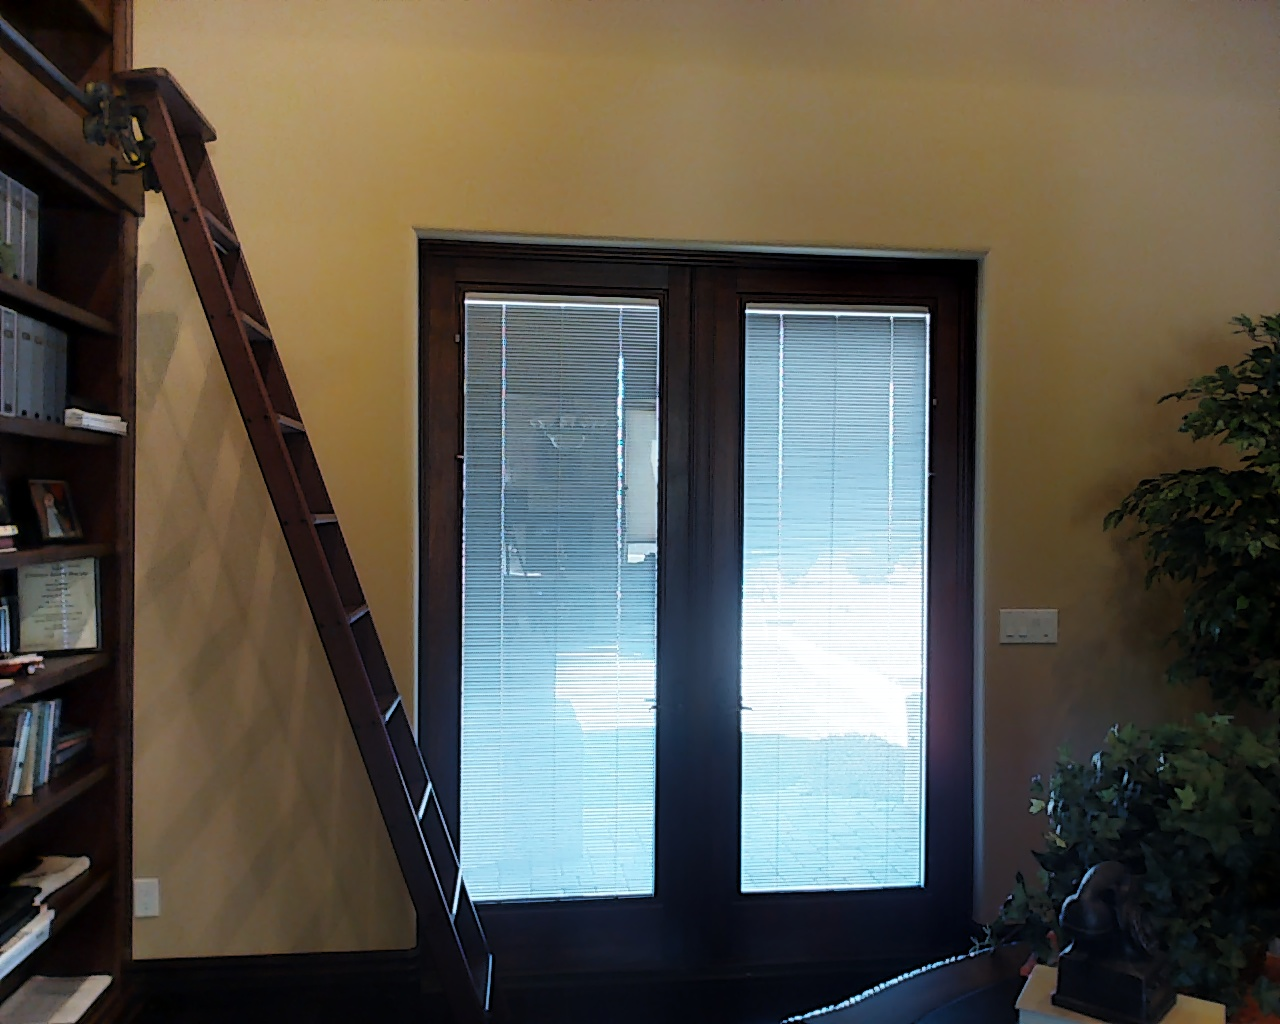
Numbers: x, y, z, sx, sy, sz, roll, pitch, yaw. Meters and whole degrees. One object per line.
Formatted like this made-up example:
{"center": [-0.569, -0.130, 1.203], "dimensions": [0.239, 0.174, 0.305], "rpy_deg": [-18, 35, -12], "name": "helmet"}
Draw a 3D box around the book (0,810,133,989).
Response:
{"center": [-1.580, 0.980, 2.770], "dimensions": [0.260, 0.170, 0.780], "rpy_deg": [0, 1, -9], "name": "book"}
